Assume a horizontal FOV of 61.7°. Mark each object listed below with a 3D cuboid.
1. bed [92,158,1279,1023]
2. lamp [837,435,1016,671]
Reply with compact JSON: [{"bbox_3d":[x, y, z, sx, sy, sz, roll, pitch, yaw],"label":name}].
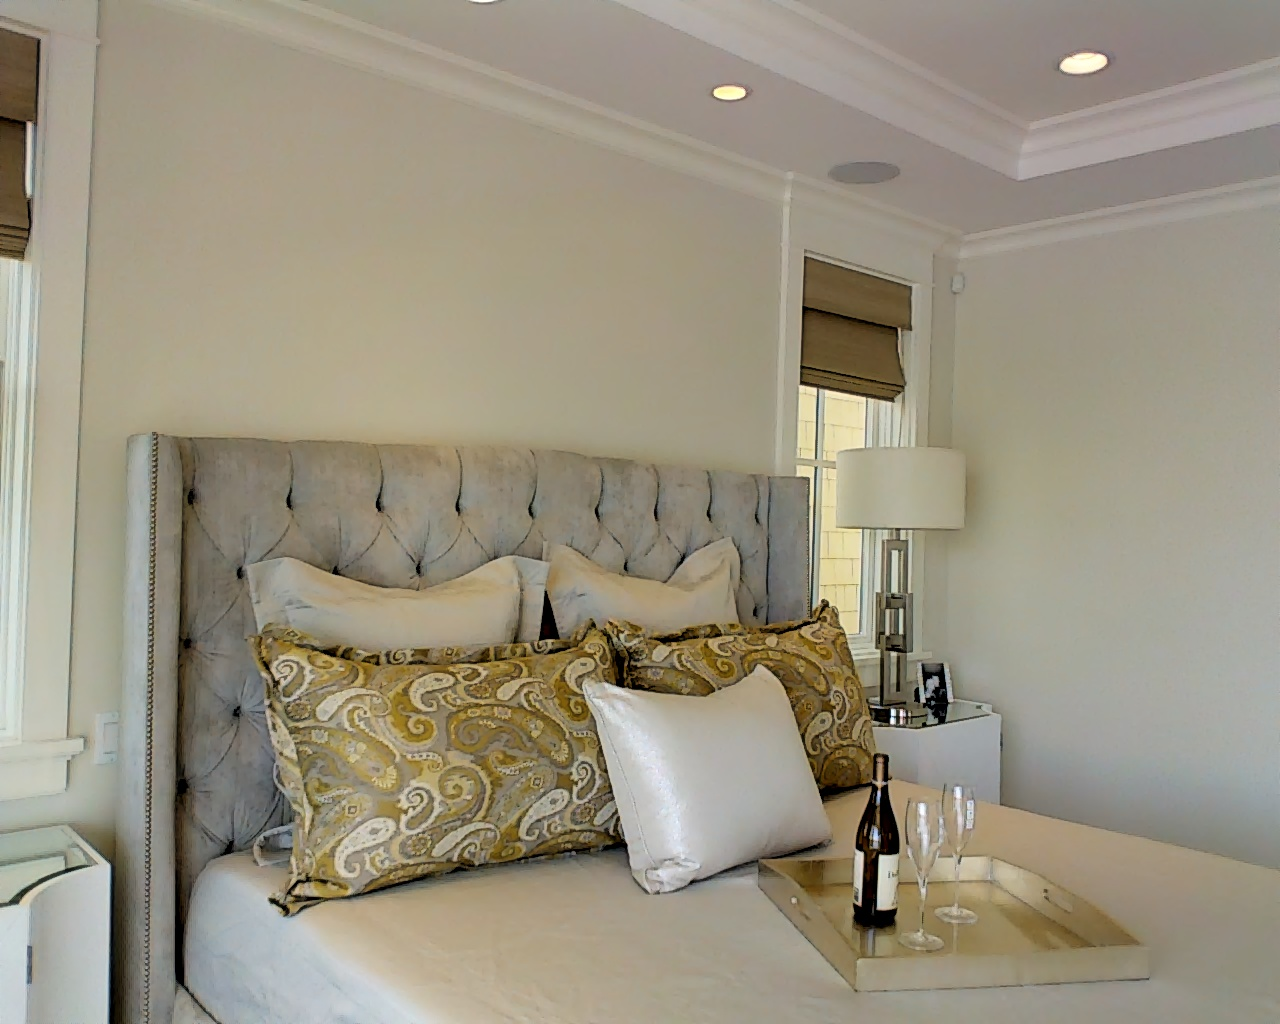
[{"bbox_3d":[0.450,0.640,2.140,2.209,1.651,2.440,2,0,-41],"label":"bed"},{"bbox_3d":[1.040,0.140,3.890,0.470,0.790,0.410,2,0,-41],"label":"lamp"}]
